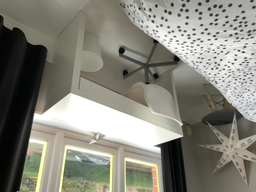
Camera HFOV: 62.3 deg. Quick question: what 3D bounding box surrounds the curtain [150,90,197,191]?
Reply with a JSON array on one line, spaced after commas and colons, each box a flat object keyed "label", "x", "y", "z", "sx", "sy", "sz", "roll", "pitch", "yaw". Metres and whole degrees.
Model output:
[{"label": "curtain", "x": 0.560, "y": 1.120, "z": 2.310, "sx": 0.210, "sy": 2.510, "sz": 0.440, "roll": -26, "pitch": 142, "yaw": 36}]

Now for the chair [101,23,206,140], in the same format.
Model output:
[{"label": "chair", "x": 0.190, "y": -0.080, "z": 2.060, "sx": 0.640, "sy": 0.760, "sz": 0.690, "roll": 15, "pitch": 146, "yaw": -28}]
